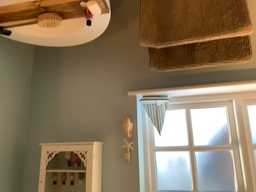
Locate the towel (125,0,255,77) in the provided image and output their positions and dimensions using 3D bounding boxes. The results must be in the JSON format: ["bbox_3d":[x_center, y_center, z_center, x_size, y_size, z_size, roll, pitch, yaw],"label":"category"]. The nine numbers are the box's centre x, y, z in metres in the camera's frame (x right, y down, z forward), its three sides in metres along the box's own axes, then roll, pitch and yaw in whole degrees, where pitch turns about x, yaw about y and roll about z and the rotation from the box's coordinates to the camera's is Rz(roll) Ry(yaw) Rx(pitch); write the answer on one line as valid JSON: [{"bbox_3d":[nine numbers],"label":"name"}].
[{"bbox_3d":[0.380,-0.600,1.350,0.740,0.830,0.330,-5,167,12],"label":"towel"}]
